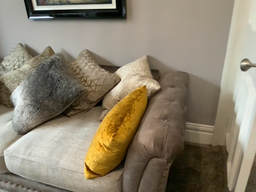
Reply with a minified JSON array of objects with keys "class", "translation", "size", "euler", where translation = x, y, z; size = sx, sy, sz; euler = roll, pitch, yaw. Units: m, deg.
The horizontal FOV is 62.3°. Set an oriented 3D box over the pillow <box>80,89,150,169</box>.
[{"class":"pillow","translation":[-0.040,0.160,1.300],"size":[0.190,0.360,0.580],"euler":[6,1,19]}]
